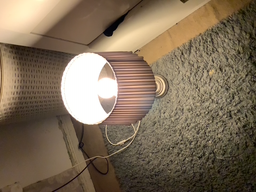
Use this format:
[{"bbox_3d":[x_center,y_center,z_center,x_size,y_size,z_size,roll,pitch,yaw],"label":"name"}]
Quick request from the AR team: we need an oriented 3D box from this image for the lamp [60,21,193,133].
[{"bbox_3d":[0.030,-0.060,0.830,0.220,0.470,0.260,-31,76,30],"label":"lamp"}]
